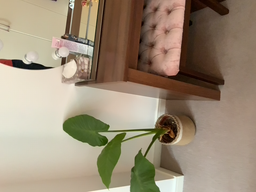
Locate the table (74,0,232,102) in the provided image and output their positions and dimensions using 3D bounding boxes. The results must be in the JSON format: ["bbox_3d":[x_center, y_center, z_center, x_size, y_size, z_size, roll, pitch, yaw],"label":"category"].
[{"bbox_3d":[0.220,-0.660,1.360,0.490,0.810,1.290,2,84,52],"label":"table"}]

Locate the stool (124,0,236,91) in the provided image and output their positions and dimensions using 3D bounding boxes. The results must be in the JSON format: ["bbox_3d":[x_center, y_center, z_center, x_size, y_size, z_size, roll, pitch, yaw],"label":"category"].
[{"bbox_3d":[0.340,-0.370,1.350,0.370,0.540,0.590,5,86,53],"label":"stool"}]
